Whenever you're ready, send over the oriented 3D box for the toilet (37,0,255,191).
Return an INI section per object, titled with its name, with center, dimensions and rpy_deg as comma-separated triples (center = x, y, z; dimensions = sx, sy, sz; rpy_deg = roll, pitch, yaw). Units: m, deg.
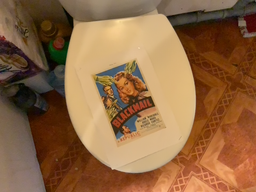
[toilet]
center = 0.050, -0.110, 0.690
dimensions = 0.410, 0.740, 0.680
rpy_deg = -9, 77, -5
